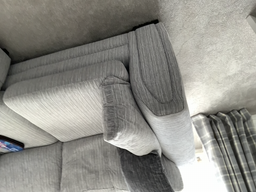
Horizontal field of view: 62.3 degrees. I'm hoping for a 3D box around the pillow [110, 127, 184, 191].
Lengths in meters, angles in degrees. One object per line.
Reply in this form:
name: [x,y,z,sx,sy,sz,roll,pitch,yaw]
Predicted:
pillow: [0.120,0.470,1.320,0.350,0.380,0.330,-16,143,14]
